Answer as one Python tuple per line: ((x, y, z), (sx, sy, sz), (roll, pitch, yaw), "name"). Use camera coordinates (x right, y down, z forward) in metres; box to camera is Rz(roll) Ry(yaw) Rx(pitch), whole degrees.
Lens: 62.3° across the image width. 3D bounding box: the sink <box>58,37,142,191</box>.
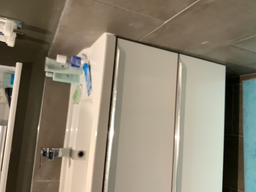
((-0.170, 0.310, 0.980), (0.450, 0.190, 1.020), (-8, 75, 64), "sink")
